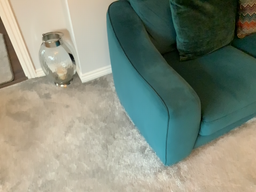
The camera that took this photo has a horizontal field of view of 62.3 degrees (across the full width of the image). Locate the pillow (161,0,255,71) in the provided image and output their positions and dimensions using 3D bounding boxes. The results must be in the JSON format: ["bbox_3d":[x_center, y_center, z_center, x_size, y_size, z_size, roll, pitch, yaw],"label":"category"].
[{"bbox_3d":[0.510,-0.470,1.290,0.540,0.360,0.160,-43,51,3],"label":"pillow"}]
